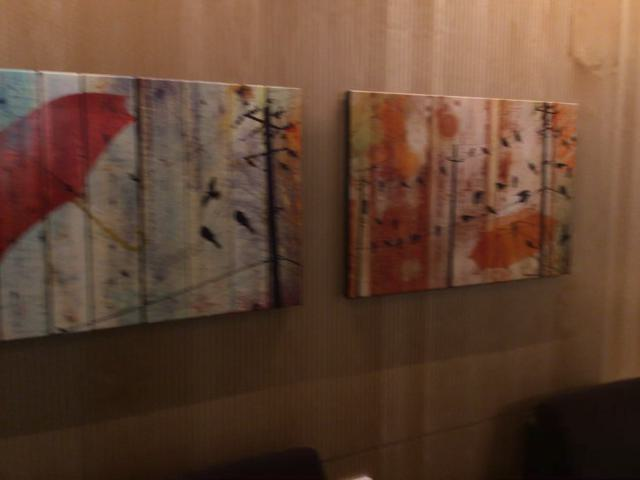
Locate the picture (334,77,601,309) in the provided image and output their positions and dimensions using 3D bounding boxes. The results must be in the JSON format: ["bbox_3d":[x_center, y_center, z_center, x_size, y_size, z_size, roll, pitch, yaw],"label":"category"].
[{"bbox_3d":[0.540,-0.160,1.950,1.050,0.680,0.070,-3,5,-24],"label":"picture"}]

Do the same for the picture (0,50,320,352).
[{"bbox_3d":[-0.480,-0.100,1.470,1.000,0.680,0.100,-3,5,-24],"label":"picture"}]
